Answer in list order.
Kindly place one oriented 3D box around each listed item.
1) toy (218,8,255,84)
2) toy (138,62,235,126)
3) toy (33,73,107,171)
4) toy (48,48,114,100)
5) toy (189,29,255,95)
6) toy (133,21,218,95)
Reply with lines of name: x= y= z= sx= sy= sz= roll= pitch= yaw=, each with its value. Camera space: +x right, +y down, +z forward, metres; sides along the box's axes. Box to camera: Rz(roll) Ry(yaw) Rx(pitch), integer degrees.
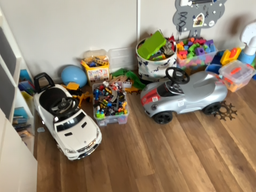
toy: x=1.230 y=-0.490 z=2.010 sx=0.390 sy=0.480 sz=0.480 roll=-14 pitch=48 yaw=-11
toy: x=0.450 y=-0.030 z=1.750 sx=0.660 sy=0.230 sz=0.340 roll=-12 pitch=48 yaw=-10
toy: x=-0.440 y=0.160 z=1.590 sx=0.420 sy=0.240 sz=0.640 roll=-12 pitch=48 yaw=-10
toy: x=-0.420 y=-0.200 z=1.950 sx=0.520 sy=0.330 sz=0.210 roll=-12 pitch=48 yaw=-10
toy: x=0.900 y=-0.340 z=2.010 sx=0.380 sy=0.300 sz=0.530 roll=-12 pitch=48 yaw=-10
toy: x=0.390 y=-0.350 z=1.950 sx=0.600 sy=0.430 sz=0.400 roll=-11 pitch=48 yaw=-9
